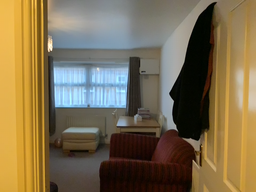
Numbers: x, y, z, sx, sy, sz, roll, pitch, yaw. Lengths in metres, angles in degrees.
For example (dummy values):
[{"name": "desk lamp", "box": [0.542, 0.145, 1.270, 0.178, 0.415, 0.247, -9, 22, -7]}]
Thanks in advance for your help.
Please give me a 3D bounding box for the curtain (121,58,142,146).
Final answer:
[{"name": "curtain", "box": [0.080, 0.150, 5.150, 0.480, 2.130, 0.140, 0, 3, 2]}]
